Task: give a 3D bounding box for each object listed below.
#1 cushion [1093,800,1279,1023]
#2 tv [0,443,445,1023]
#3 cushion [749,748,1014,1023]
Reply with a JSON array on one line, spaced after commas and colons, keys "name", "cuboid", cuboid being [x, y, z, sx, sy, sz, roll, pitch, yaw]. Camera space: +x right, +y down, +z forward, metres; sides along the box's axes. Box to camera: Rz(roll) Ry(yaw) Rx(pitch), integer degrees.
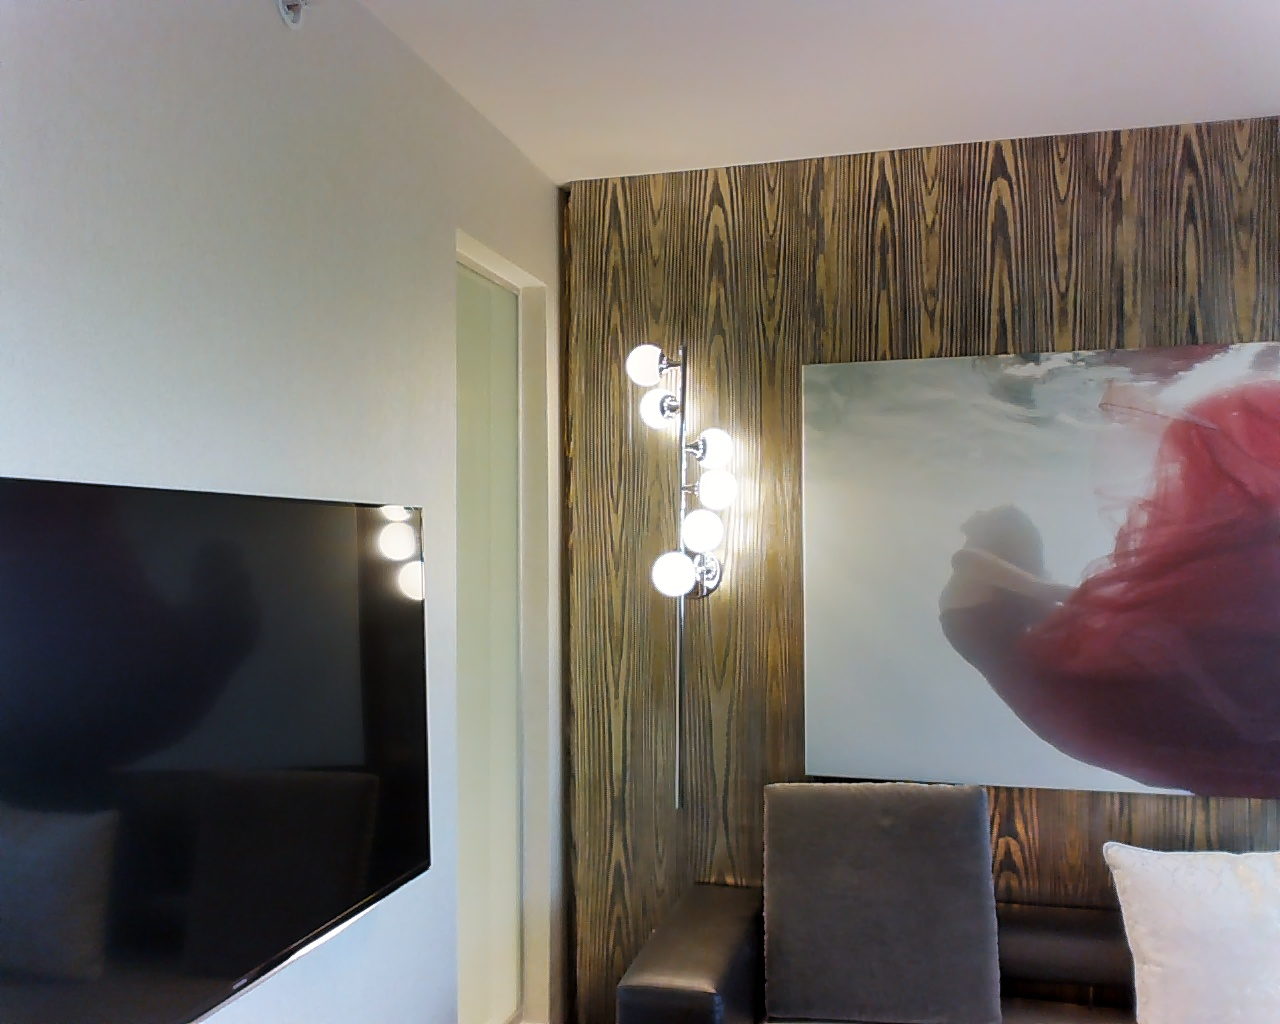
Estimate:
[{"name": "cushion", "cuboid": [1.320, 0.940, 2.380, 0.530, 0.470, 0.430, -1, -1, 15]}, {"name": "tv", "cuboid": [-0.600, 0.330, 1.540, 0.100, 0.790, 1.240, -1, -1, 15]}, {"name": "cushion", "cuboid": [0.590, 0.900, 2.620, 0.590, 0.550, 0.260, -1, 10, 16]}]
